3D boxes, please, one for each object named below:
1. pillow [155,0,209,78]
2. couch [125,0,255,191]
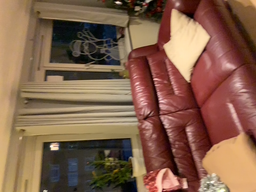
[{"bbox_3d":[0.490,-0.550,2.080,0.530,0.180,0.530,110,155,-54],"label":"pillow"},{"bbox_3d":[0.630,0.050,1.940,1.160,0.860,2.110,111,154,-55],"label":"couch"}]
